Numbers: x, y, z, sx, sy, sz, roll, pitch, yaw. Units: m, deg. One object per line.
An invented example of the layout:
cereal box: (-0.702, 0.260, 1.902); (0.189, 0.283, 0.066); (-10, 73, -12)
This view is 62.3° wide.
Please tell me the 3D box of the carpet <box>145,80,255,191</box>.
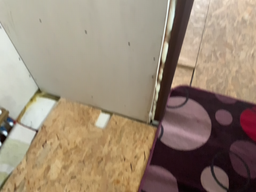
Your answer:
carpet: (0.470, 0.540, 0.940); (0.800, 0.090, 1.290); (17, 57, 11)
